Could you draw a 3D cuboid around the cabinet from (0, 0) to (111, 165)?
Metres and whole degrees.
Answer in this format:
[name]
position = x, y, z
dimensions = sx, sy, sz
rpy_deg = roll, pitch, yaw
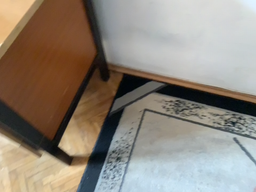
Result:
[cabinet]
position = -0.440, -0.140, 0.880
dimensions = 0.460, 0.790, 0.570
rpy_deg = 14, 63, 12
